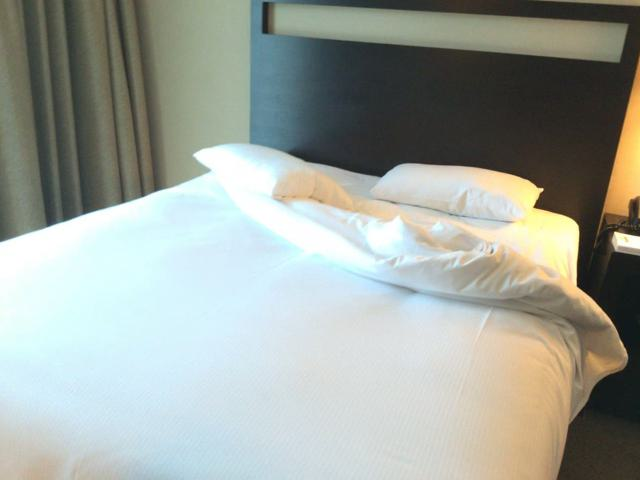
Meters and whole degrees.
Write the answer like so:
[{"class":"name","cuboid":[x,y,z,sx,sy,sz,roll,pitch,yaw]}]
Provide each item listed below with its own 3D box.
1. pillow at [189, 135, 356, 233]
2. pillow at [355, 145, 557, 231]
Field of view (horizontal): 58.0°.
[{"class":"pillow","cuboid":[-0.210,-0.240,2.160,0.370,0.180,0.710,-7,22,-26]},{"class":"pillow","cuboid":[0.550,-0.230,2.320,0.700,0.160,0.420,12,21,23]}]
